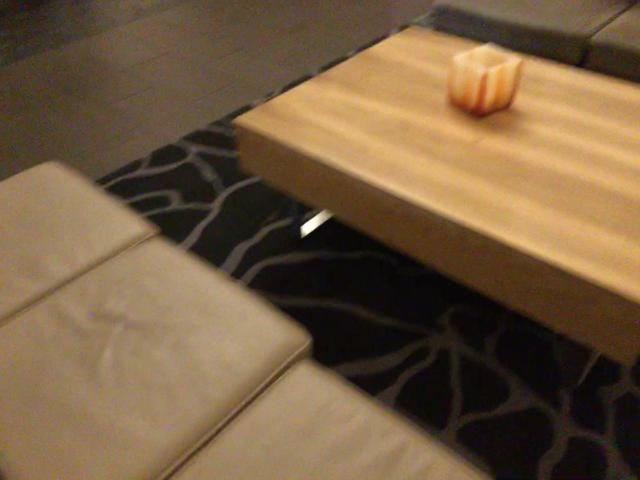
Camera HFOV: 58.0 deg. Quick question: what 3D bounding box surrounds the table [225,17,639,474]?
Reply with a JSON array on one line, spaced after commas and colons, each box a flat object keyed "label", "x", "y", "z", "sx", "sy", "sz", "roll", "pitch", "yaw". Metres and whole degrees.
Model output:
[{"label": "table", "x": 0.530, "y": -0.160, "z": 1.760, "sx": 1.310, "sy": 0.490, "sz": 0.940, "roll": 29, "pitch": 49, "yaw": 32}]
